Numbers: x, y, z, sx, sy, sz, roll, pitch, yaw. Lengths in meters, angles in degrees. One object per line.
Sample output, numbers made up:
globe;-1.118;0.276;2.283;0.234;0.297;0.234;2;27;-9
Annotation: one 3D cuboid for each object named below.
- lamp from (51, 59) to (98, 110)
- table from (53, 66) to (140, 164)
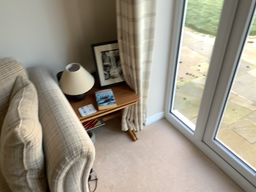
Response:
lamp;-0.390;-0.090;1.560;0.250;0.240;0.210;-18;40;-21
table;-0.270;0.130;1.850;0.520;0.480;0.560;-20;41;-23
